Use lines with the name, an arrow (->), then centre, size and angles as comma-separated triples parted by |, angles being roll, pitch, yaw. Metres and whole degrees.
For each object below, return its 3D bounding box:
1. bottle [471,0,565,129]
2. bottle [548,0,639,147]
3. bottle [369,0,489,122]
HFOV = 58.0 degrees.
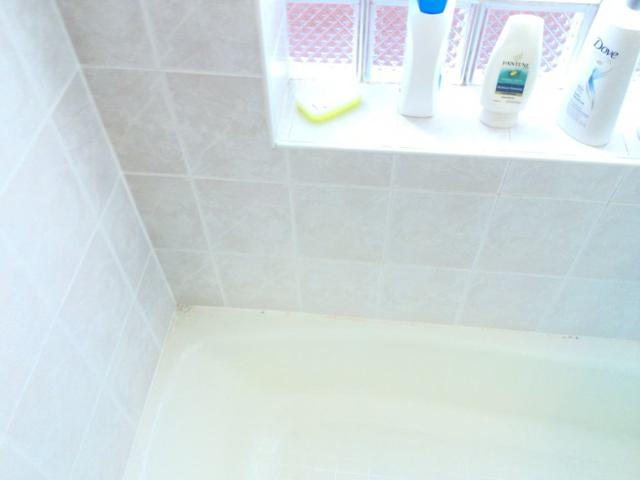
bottle -> 0.330, -0.300, 0.990 | 0.100, 0.200, 0.090 | 5, 51, 5
bottle -> 0.480, -0.310, 0.930 | 0.120, 0.300, 0.130 | 5, 51, 5
bottle -> 0.180, -0.350, 1.000 | 0.170, 0.250, 0.130 | 5, 51, 5
